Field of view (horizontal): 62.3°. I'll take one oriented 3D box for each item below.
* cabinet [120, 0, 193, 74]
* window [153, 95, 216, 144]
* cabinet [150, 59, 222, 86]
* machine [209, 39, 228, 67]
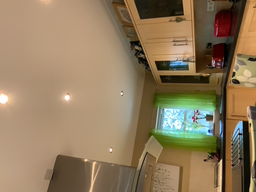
[{"bbox_3d":[0.540,-0.910,3.130,1.850,0.770,0.300,54,-138,-61],"label":"cabinet"},{"bbox_3d":[1.110,0.420,4.150,0.100,1.120,0.880,55,-138,-61],"label":"window"},{"bbox_3d":[1.090,-0.450,4.040,0.420,1.240,0.320,54,-138,-61],"label":"cabinet"},{"bbox_3d":[1.320,-0.620,3.110,0.340,0.230,0.260,55,-138,-61],"label":"machine"}]
